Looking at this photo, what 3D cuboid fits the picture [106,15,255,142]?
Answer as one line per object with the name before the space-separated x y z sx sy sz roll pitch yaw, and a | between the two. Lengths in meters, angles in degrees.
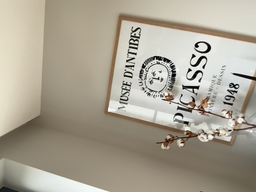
picture | 0.300 -0.100 1.250 0.030 0.800 0.590 -47 -31 -72
